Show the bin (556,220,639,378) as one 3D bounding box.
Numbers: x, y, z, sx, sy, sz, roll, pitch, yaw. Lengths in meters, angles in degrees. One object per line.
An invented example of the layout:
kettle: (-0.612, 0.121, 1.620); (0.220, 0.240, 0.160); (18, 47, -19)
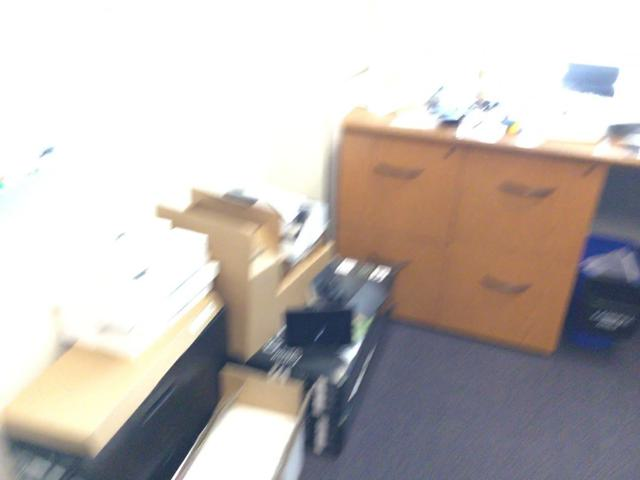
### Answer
bin: (0.950, 0.180, 1.950); (0.230, 0.310, 0.440); (8, 30, 17)
